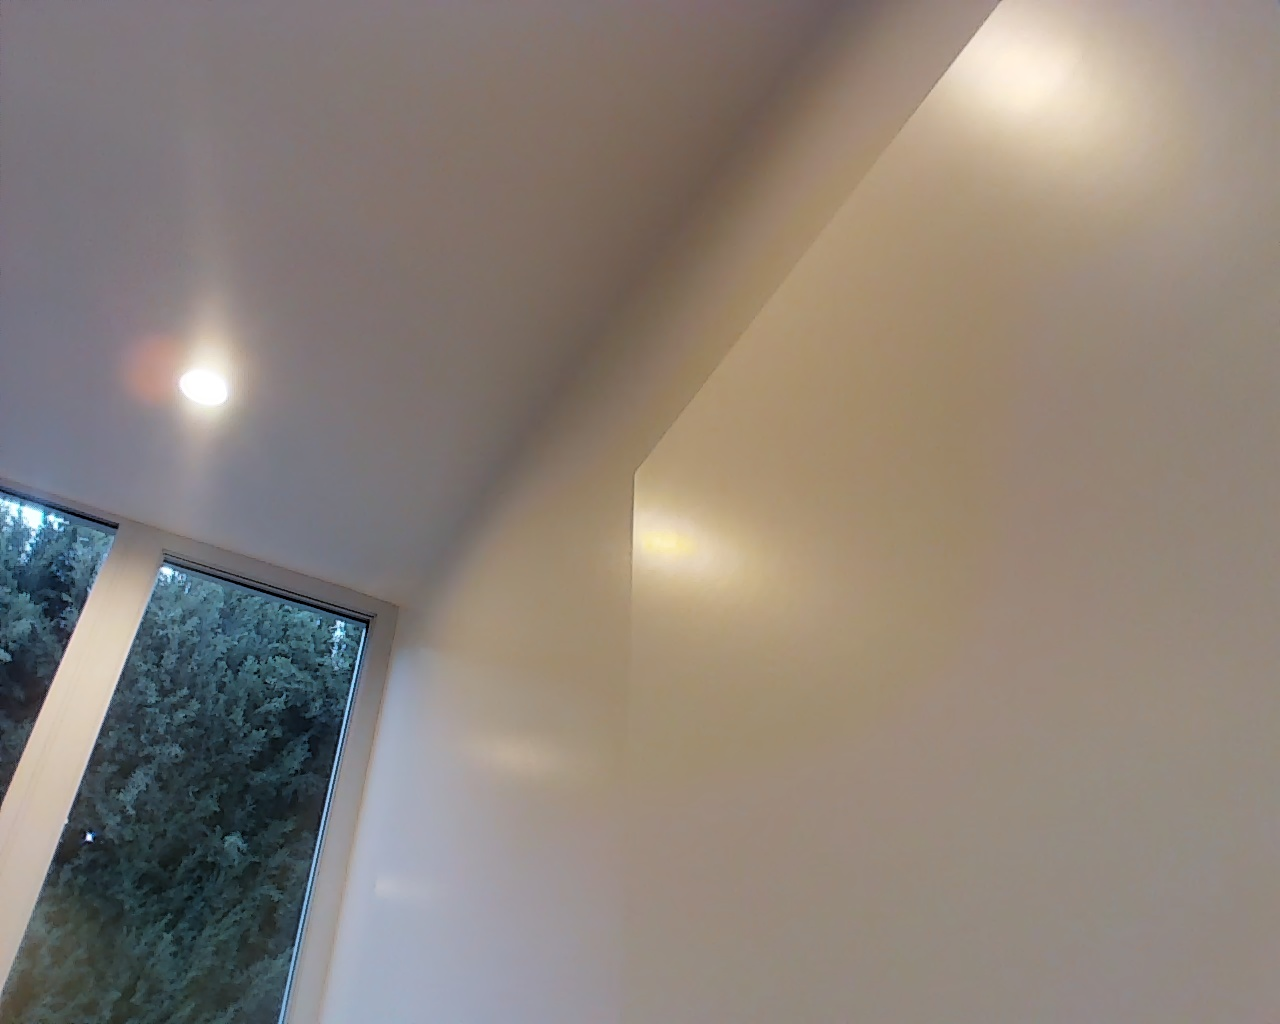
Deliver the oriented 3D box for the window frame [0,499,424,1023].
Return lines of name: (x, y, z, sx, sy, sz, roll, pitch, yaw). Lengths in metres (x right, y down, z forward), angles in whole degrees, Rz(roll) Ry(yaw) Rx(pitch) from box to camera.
window frame: (-0.870, 0.690, 2.190, 0.570, 1.430, 0.290, 22, -45, -22)
